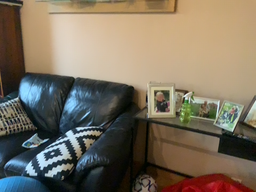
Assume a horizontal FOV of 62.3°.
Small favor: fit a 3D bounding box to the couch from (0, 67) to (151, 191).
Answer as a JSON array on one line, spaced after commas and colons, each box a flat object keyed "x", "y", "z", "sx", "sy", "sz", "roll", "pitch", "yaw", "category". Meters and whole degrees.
[{"x": -0.740, "y": 0.320, "z": 1.990, "sx": 1.600, "sy": 0.910, "sz": 0.980, "roll": 10, "pitch": 18, "yaw": 24, "category": "couch"}]

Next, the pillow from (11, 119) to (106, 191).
[{"x": -0.500, "y": 0.430, "z": 1.670, "sx": 0.360, "sy": 0.230, "sz": 0.620, "roll": 11, "pitch": 18, "yaw": 26, "category": "pillow"}]
